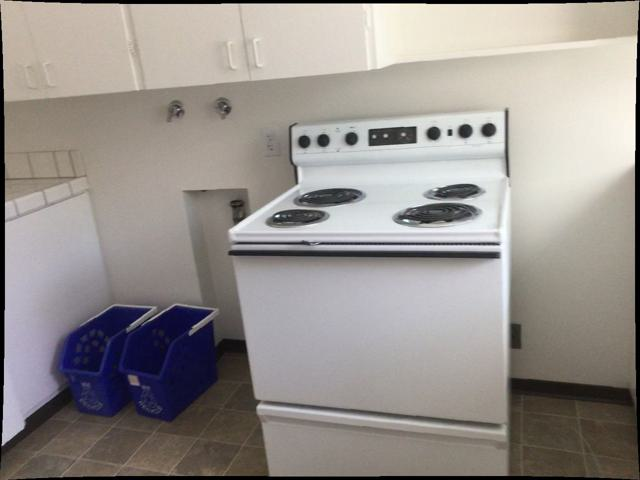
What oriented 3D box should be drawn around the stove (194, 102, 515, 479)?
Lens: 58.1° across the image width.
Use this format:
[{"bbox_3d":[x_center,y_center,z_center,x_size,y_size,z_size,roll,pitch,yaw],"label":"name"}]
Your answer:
[{"bbox_3d":[0.220,0.190,1.950,0.799,1.112,0.760,-2,20,18],"label":"stove"}]
